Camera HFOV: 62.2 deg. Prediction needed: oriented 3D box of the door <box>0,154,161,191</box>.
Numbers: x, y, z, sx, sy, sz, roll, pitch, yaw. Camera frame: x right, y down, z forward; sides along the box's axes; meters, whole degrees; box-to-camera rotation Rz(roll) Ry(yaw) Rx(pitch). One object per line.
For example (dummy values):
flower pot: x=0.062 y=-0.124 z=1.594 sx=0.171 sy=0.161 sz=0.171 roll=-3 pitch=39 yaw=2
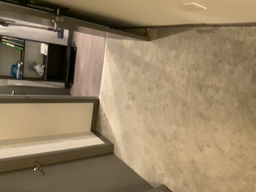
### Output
door: x=-0.750 y=0.810 z=1.670 sx=0.790 sy=2.040 sz=0.070 roll=21 pitch=106 yaw=52

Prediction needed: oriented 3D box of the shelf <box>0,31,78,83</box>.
shelf: x=-1.590 y=-0.600 z=3.340 sx=0.230 sy=1.520 sz=0.660 roll=22 pitch=106 yaw=52
